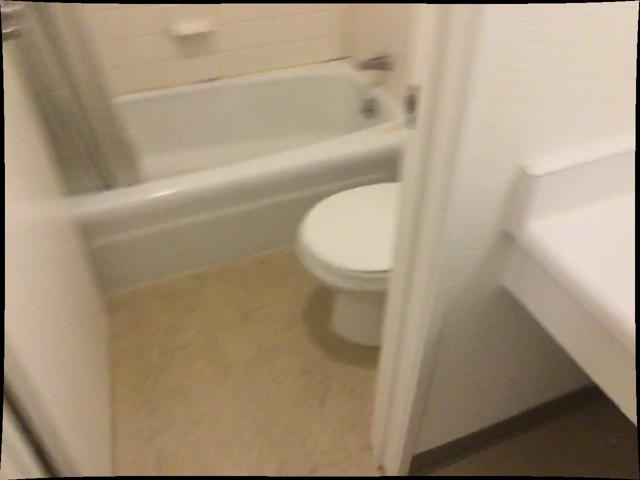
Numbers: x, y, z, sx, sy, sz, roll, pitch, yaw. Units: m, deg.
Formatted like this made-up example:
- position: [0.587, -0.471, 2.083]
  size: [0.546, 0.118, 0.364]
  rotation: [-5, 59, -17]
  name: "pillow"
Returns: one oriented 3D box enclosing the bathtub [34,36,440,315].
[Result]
- position: [-0.319, -0.321, 2.230]
  size: [1.288, 0.480, 0.740]
  rotation: [-16, 44, -18]
  name: "bathtub"
